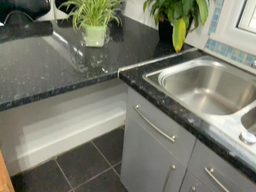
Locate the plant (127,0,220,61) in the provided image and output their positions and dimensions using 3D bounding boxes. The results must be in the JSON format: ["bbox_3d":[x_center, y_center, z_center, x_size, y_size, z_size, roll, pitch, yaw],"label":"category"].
[{"bbox_3d":[0.240,-0.460,1.200,0.290,0.350,0.380,-20,42,-33],"label":"plant"}]

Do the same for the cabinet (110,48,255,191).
[{"bbox_3d":[0.420,0.380,1.120,0.620,0.910,0.860,-19,41,-32],"label":"cabinet"}]

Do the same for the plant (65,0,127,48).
[{"bbox_3d":[-0.180,-0.450,1.210,0.300,0.250,0.270,0,34,-9],"label":"plant"}]
